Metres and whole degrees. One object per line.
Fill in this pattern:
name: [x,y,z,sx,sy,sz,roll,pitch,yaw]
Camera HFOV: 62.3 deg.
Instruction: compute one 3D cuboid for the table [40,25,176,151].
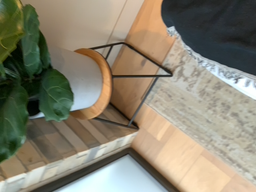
table: [-0.090,-0.050,1.140,0.400,0.480,0.400,38,111,25]
